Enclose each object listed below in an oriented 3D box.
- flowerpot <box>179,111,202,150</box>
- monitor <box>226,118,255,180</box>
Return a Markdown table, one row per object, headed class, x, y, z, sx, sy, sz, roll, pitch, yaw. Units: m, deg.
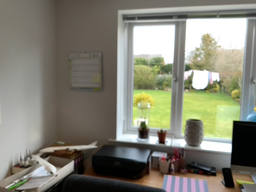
| class | x | y | z | sx | sy | sz | roll | pitch | yaw |
| --- | --- | --- | --- | --- | --- | --- | --- | --- | --- |
| flowerpot | 0.580 | 0.310 | 1.970 | 0.170 | 0.300 | 0.190 | 4 | 7 | 22 |
| monitor | 1.070 | 0.430 | 1.560 | 0.570 | 0.430 | 0.040 | 10 | 8 | 16 |
